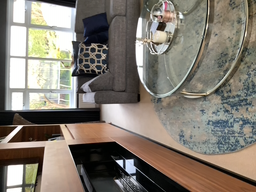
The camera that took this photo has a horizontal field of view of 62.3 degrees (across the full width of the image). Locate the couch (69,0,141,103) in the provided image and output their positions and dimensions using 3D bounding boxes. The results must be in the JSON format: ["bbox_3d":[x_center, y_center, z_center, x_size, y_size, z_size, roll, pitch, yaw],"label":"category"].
[{"bbox_3d":[-0.410,-1.570,3.200,1.160,0.800,3.320,178,92,-69],"label":"couch"}]

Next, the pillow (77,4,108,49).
[{"bbox_3d":[-0.520,-1.000,3.130,0.190,0.440,0.500,-2,87,37],"label":"pillow"}]

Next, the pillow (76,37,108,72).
[{"bbox_3d":[-0.510,-0.580,3.070,0.170,0.470,0.410,0,89,37],"label":"pillow"}]
